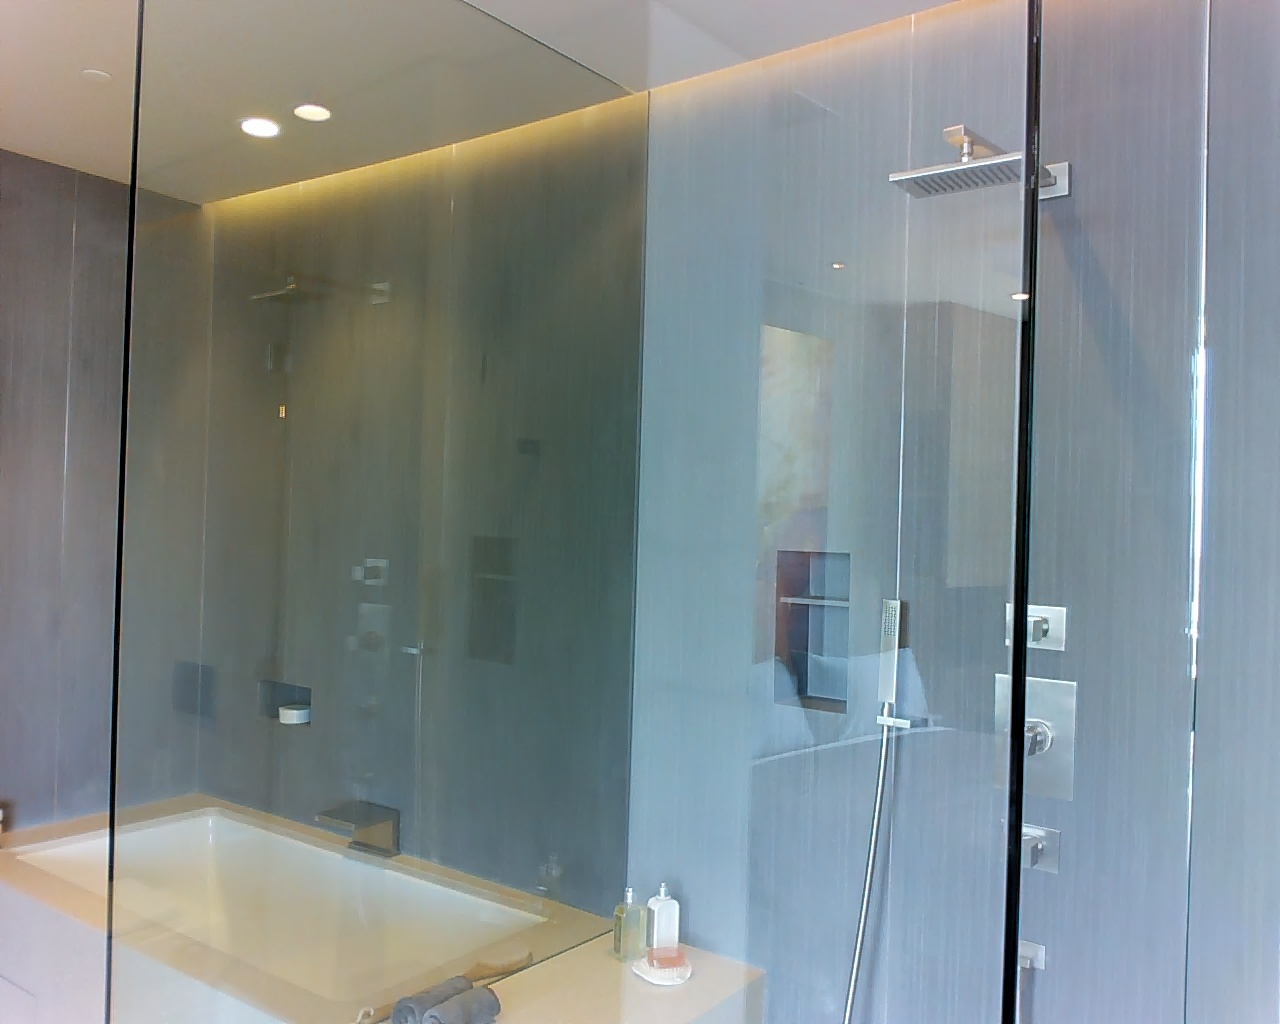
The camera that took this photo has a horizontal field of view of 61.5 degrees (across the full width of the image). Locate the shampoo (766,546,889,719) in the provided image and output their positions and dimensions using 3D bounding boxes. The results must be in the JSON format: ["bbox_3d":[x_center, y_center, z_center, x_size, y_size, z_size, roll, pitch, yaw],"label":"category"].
[{"bbox_3d":[0.420,0.260,2.410,0.210,0.360,0.160,1,-1,39],"label":"shampoo"}]
